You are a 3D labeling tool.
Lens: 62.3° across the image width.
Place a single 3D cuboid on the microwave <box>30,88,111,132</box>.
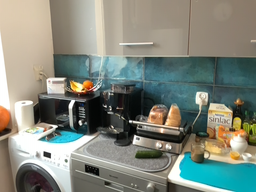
[{"bbox_3d":[-0.470,0.090,1.780,0.550,0.220,0.350,6,15,25],"label":"microwave"}]
